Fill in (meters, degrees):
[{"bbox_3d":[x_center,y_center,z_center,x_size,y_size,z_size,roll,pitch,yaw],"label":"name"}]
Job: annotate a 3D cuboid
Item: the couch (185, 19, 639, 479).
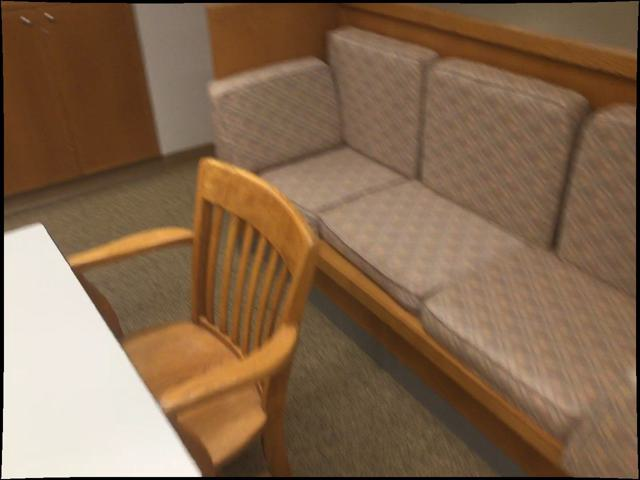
[{"bbox_3d":[0.319,-0.050,1.850,0.649,1.012,1.819,-20,34,-32],"label":"couch"}]
